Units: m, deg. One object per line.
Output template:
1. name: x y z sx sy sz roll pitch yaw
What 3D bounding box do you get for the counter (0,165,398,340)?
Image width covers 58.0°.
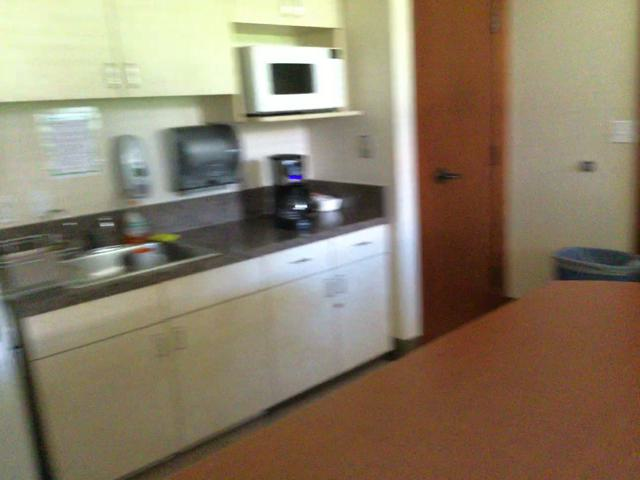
1. counter: -0.540 -0.060 2.620 1.910 0.310 0.660 -15 17 -39

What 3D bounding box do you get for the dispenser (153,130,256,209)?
1. dispenser: -0.550 -0.350 2.780 0.380 0.320 0.250 -15 17 -39

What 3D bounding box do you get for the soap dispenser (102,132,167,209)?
1. soap dispenser: -0.840 -0.320 2.630 0.210 0.320 0.120 -15 17 -39
